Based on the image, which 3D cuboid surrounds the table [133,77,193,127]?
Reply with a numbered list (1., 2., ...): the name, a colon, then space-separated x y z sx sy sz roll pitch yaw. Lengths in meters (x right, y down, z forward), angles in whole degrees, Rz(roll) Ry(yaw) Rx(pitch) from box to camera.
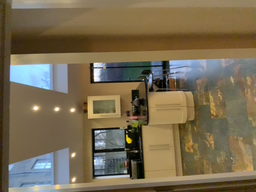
1. table: 0.670 0.200 4.770 1.640 0.920 0.900 121 146 -82
